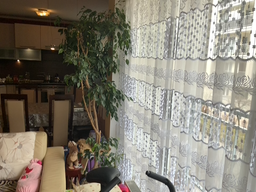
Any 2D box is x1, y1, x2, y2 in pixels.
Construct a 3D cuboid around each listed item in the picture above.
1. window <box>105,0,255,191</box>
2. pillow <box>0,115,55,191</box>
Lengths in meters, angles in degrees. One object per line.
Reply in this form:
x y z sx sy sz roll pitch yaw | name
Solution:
0.490 0.300 0.970 0.260 2.510 3.730 0 10 -20 | window
-1.050 0.540 1.950 0.540 0.480 0.160 -36 19 -12 | pillow
